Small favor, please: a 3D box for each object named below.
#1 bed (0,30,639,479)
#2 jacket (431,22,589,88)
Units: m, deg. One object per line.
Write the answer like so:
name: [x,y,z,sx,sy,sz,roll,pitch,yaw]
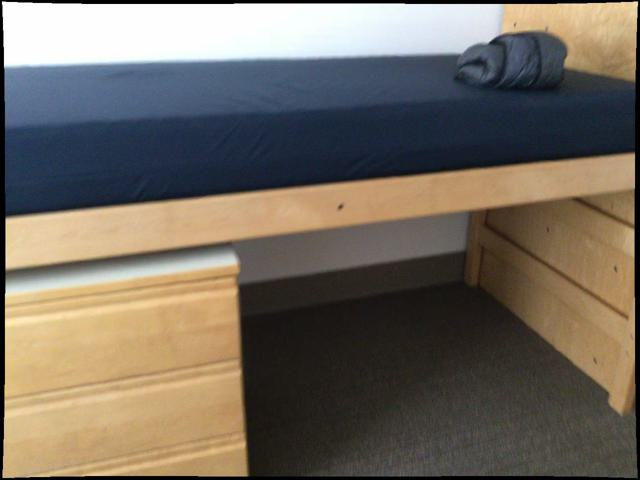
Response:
bed: [-0.090,-0.020,1.870,2.158,1.101,1.060,-8,26,-17]
jacket: [0.509,-0.521,1.600,0.270,0.130,0.310,-8,26,-18]
